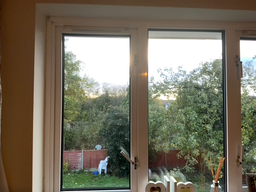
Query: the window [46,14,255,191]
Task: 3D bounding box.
[{"bbox_3d":[0.400,0.150,1.320,1.700,1.190,0.230,0,-2,-4],"label":"window"}]
